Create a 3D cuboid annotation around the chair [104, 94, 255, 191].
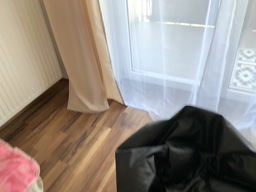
[{"bbox_3d":[0.450,0.440,1.010,1.020,0.400,0.900,2,39,9],"label":"chair"}]
